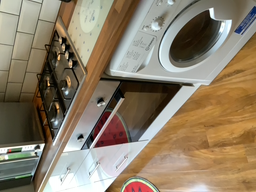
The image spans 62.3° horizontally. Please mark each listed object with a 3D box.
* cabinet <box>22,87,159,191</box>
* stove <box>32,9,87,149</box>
[{"bbox_3d":[-0.340,0.350,1.860,0.580,0.910,0.570,-56,49,34],"label":"cabinet"},{"bbox_3d":[-0.440,-0.090,1.240,0.620,0.020,0.530,-56,49,34],"label":"stove"}]
